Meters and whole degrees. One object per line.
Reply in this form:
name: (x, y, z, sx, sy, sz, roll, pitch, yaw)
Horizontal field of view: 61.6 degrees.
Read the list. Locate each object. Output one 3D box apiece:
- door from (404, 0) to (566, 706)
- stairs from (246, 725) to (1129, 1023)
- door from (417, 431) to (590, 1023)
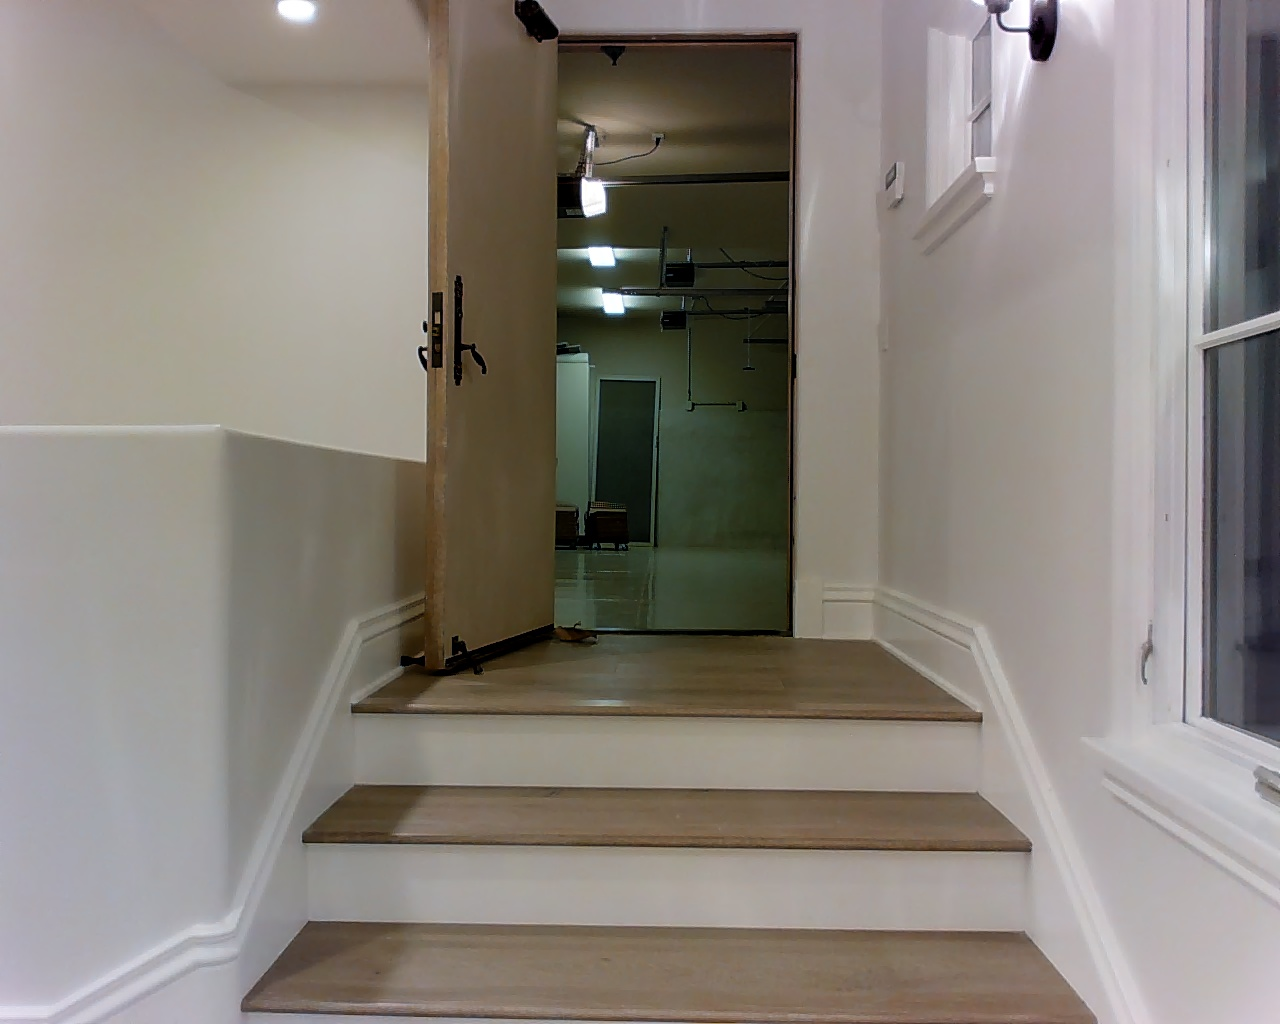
door: (-0.440, -0.590, 3.260, 0.110, 2.201, 0.890, 1, 0, 16)
stairs: (0.080, 0.800, 2.170, 1.480, 0.570, 0.730, 1, 0, 2)
door: (-0.380, 0.880, 3.220, 0.120, 2.181, 0.910, 1, 0, 18)
